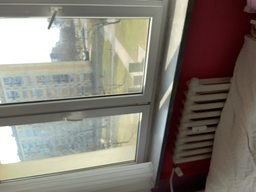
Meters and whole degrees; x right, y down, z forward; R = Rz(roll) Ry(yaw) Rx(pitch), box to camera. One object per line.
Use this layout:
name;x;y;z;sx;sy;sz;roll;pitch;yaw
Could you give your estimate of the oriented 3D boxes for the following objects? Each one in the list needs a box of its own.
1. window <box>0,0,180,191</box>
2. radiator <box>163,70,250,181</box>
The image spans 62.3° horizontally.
window;-0.430;-0.090;1.500;0.180;1.500;2.420;-121;29;-61
radiator;0.650;0.310;1.930;0.190;0.460;1.080;-114;24;-54
